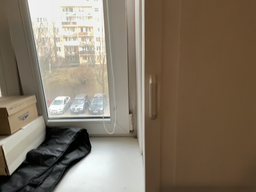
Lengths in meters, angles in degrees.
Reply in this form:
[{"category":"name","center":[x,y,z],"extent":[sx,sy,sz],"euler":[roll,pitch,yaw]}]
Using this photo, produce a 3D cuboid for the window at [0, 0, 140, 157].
[{"category":"window","center":[-0.640,-0.480,0.890],"extent":[1.370,1.470,0.230],"euler":[1,16,5]}]
